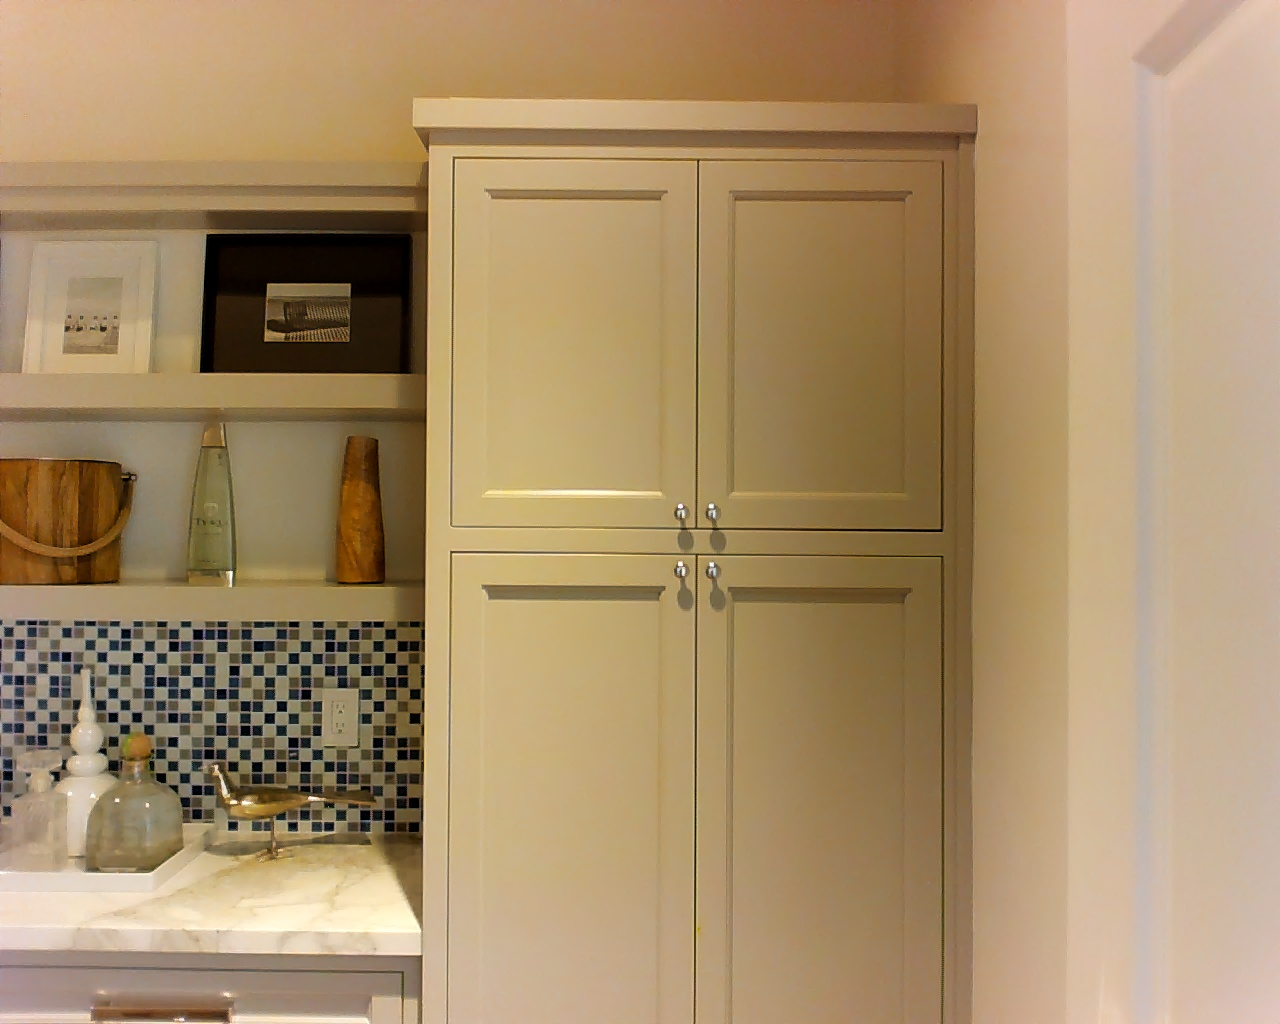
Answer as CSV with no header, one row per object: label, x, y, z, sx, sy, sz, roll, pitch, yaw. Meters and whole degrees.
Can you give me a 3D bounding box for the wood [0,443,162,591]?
wood,-1.150,0.010,2.100,0.310,0.270,0.260,1,-1,0
